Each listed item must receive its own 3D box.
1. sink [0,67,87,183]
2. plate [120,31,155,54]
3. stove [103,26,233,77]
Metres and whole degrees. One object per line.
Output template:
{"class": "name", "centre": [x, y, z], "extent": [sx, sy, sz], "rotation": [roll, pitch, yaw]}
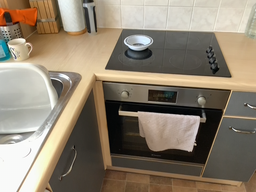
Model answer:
{"class": "sink", "centre": [-0.500, 0.080, 0.900], "extent": [0.520, 0.180, 0.450], "rotation": [4, 39, 7]}
{"class": "plate", "centre": [0.060, -0.310, 1.220], "extent": [0.180, 0.050, 0.190], "rotation": [4, 39, 6]}
{"class": "stove", "centre": [0.210, -0.280, 1.190], "extent": [0.590, 0.010, 0.550], "rotation": [4, 39, 7]}
